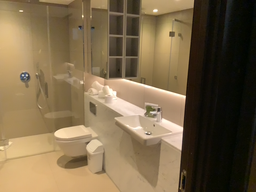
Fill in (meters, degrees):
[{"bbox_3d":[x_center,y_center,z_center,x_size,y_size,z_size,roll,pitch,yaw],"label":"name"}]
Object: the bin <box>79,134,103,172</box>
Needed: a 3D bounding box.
[{"bbox_3d":[-0.490,0.740,2.800,0.220,0.380,0.260,-7,15,-34],"label":"bin"}]
